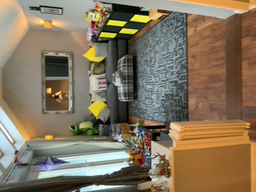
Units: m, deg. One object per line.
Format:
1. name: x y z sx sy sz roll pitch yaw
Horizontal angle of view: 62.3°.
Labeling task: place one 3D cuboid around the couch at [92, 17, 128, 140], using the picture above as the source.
1. couch: -0.510 -0.390 5.460 1.200 0.630 2.780 180 90 -71
